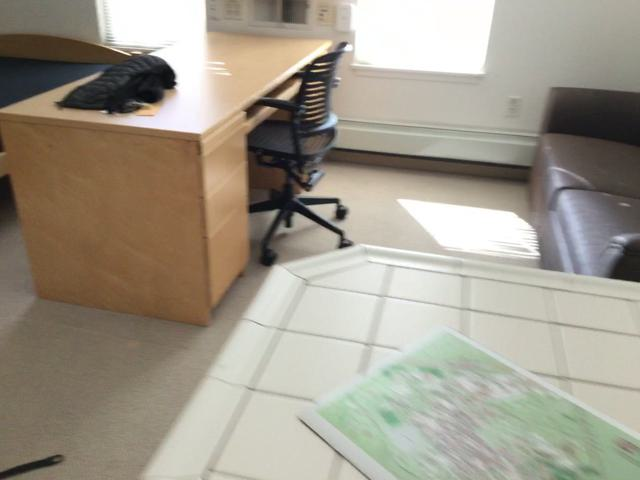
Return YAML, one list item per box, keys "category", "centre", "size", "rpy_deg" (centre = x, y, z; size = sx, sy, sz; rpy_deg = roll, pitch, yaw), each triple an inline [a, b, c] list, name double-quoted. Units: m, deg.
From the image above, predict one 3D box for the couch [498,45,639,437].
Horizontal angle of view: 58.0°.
- category: "couch"
  centre: [1.280, -0.180, 2.320]
  size: [0.900, 0.820, 1.880]
  rpy_deg: [9, 28, 11]
